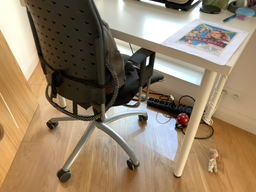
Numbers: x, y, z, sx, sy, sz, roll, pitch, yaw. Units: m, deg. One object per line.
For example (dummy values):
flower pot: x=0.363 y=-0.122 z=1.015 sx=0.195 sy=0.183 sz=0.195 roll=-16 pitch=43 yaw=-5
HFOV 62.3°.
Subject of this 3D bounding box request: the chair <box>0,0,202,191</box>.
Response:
chair: x=-0.190 y=-0.190 z=1.000 sx=0.700 sy=1.030 sz=0.680 roll=30 pitch=48 yaw=27
